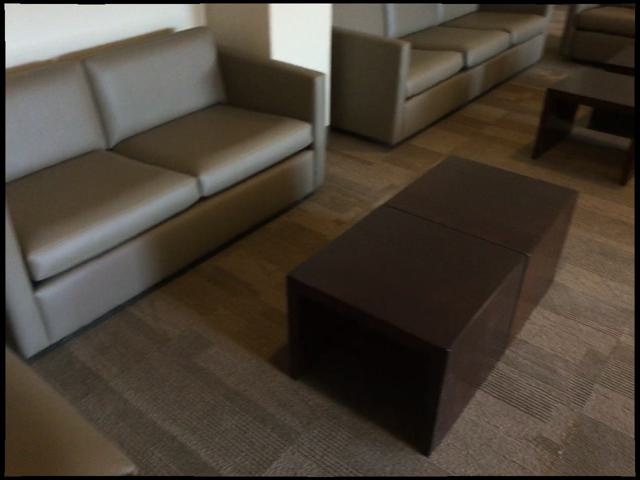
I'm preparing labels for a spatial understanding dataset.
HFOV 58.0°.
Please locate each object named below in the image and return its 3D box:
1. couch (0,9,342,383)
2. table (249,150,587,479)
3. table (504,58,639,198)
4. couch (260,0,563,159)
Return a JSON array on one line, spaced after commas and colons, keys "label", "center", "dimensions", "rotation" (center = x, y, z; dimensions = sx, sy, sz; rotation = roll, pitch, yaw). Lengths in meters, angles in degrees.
[{"label": "couch", "center": [-0.778, -0.361, 2.390], "dimensions": [0.889, 0.731, 1.639], "rotation": [26, 41, 31]}, {"label": "table", "center": [0.359, 0.150, 1.950], "dimensions": [0.599, 0.431, 1.050], "rotation": [26, 41, 31]}, {"label": "table", "center": [1.477, -0.641, 3.140], "dimensions": [0.629, 0.421, 0.650], "rotation": [26, 41, 31]}, {"label": "couch", "center": [0.768, -1.443, 4.030], "dimensions": [0.929, 0.741, 2.389], "rotation": [26, 41, 31]}]
